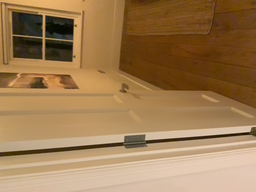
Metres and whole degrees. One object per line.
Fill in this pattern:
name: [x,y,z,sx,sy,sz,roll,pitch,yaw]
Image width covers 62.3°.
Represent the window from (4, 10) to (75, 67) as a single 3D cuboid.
window: [-1.550,-0.990,3.790,0.060,1.130,0.870,-133,48,-61]
